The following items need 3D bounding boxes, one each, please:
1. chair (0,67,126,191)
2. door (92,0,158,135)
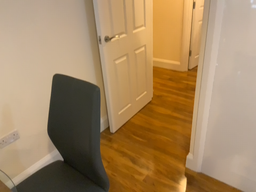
[{"bbox_3d":[-0.380,0.460,1.120,0.470,1.030,0.560,18,35,33],"label":"chair"},{"bbox_3d":[0.040,-0.670,2.130,0.060,1.990,0.970,16,34,32],"label":"door"}]
